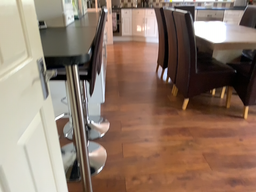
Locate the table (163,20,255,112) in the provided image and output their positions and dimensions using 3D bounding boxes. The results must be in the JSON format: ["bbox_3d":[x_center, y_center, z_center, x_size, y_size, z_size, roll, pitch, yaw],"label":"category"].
[{"bbox_3d":[1.220,-0.590,3.030,0.990,0.740,1.960,-2,25,-3],"label":"table"}]
